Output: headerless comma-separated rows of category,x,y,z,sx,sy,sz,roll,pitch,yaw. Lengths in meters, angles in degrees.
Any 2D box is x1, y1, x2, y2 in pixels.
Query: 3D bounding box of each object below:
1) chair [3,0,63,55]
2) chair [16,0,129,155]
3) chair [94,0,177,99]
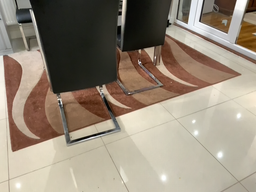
chair,-1.200,-1.110,2.580,0.500,0.960,0.620,-16,40,-21
chair,-0.340,-0.230,1.370,0.480,0.970,0.590,-15,39,-20
chair,0.030,-0.580,1.850,0.450,0.980,0.590,-15,39,-20
